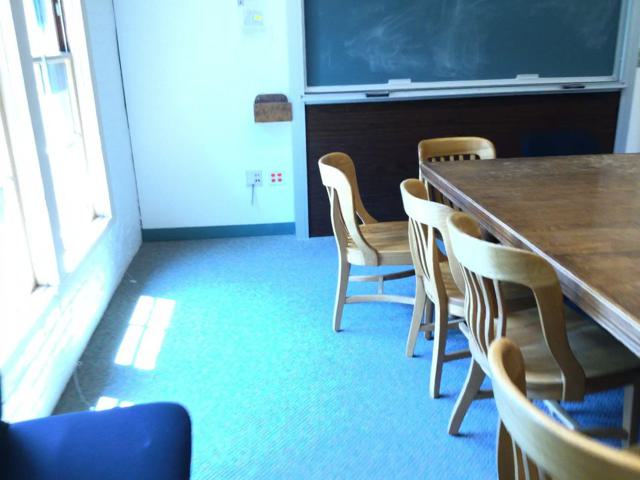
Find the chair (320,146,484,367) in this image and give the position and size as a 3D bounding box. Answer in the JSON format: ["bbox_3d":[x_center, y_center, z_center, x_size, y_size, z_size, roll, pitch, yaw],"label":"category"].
[{"bbox_3d":[0.350,0.040,2.730,0.610,0.800,0.690,-5,20,-2],"label":"chair"}]

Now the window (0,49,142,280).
[{"bbox_3d":[-1.150,-0.430,2.790,0.200,0.900,1.010,-5,20,-2],"label":"window"}]

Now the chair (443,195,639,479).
[{"bbox_3d":[0.700,0.360,1.770,0.490,0.830,0.590,-5,20,-2],"label":"chair"}]

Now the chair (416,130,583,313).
[{"bbox_3d":[0.870,-0.120,2.970,0.620,0.750,0.590,-5,20,-2],"label":"chair"}]
